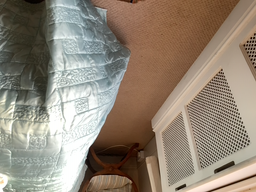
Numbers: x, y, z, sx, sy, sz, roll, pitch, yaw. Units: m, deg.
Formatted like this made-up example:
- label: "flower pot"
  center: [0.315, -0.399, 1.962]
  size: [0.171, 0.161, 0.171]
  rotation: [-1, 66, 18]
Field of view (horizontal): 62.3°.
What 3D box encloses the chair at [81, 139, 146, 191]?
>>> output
- label: "chair"
  center: [-0.180, 0.940, 2.280]
  size: [0.600, 0.780, 0.480]
  rotation: [7, 146, -14]
